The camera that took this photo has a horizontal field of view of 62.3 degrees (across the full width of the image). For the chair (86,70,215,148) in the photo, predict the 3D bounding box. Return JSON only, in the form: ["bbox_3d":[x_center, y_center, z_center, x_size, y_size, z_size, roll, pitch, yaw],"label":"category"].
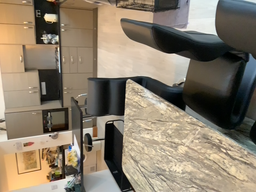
[{"bbox_3d":[0.180,0.050,2.040,0.630,1.010,0.460,-142,52,-58],"label":"chair"}]

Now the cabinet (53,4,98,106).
[{"bbox_3d":[-1.280,-0.960,5.170,0.610,0.890,2.240,-145,54,-59],"label":"cabinet"}]

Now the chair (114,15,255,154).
[{"bbox_3d":[0.480,-0.110,1.370,0.420,1.000,0.650,-134,46,-54],"label":"chair"}]
